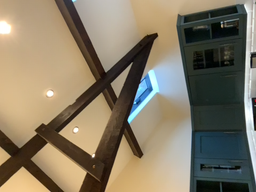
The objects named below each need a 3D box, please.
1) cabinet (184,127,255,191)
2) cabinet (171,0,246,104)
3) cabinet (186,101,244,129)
[{"bbox_3d":[1.280,1.090,3.030,1.360,0.850,0.340,-71,-32,-45],"label":"cabinet"},{"bbox_3d":[1.200,-0.540,3.120,0.360,0.850,1.440,-71,-31,-45],"label":"cabinet"},{"bbox_3d":[1.470,0.320,3.650,0.460,0.840,0.420,2,-96,-68],"label":"cabinet"}]
